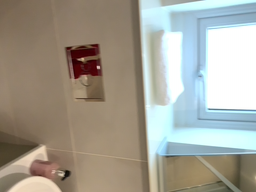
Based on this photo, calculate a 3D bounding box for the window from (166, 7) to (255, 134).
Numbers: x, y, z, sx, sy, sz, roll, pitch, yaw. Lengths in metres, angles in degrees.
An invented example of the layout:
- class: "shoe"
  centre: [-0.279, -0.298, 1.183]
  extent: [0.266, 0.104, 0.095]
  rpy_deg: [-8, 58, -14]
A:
- class: "window"
  centre: [0.630, -0.100, 0.910]
  extent: [0.040, 0.920, 0.550]
  rpy_deg: [-26, 115, -65]
